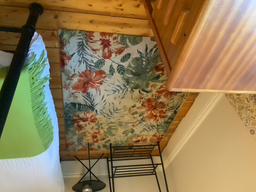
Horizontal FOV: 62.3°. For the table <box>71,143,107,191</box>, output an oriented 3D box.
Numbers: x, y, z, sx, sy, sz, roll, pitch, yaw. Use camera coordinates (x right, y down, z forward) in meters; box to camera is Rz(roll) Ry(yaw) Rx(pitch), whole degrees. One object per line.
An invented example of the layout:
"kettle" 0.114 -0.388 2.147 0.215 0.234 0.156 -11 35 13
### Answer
"table" -0.480 0.870 2.590 0.390 0.440 0.400 1 140 -12
